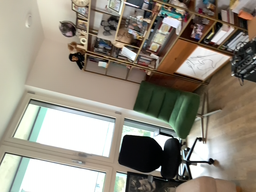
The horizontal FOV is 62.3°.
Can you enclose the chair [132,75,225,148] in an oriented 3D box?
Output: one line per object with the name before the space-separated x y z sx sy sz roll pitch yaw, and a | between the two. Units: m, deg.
chair | 0.600 0.170 2.870 0.780 0.910 0.530 -103 28 -72
